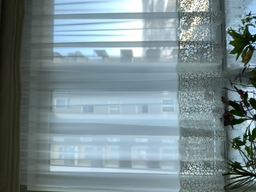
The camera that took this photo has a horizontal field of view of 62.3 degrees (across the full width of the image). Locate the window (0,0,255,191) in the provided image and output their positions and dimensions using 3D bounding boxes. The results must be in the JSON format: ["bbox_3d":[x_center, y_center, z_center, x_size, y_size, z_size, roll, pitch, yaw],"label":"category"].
[{"bbox_3d":[0.070,-0.120,1.590,0.250,2.230,1.890,28,-117,-86],"label":"window"}]
